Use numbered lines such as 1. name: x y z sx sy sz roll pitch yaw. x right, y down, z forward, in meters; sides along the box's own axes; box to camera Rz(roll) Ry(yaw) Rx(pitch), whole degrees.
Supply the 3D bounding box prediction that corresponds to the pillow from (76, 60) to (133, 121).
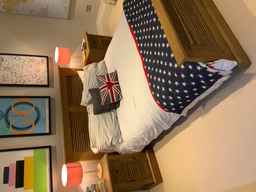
1. pillow: -0.340 -0.070 2.920 0.580 0.570 0.230 59 -168 30
